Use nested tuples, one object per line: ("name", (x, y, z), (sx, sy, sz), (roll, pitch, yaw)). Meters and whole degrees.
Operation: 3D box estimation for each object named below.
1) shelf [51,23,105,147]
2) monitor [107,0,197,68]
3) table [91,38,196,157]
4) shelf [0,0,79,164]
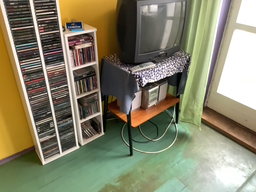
("shelf", (-0.380, -0.060, 1.750), (0.270, 0.980, 0.220), (-22, 39, -34))
("monitor", (0.170, -0.530, 1.600), (0.570, 0.440, 0.310), (-19, 37, -30))
("table", (0.120, -0.030, 1.940), (0.680, 0.760, 0.540), (-22, 39, -34))
("shelf", (-0.600, -0.100, 1.510), (0.310, 1.290, 0.220), (-22, 39, -34))
